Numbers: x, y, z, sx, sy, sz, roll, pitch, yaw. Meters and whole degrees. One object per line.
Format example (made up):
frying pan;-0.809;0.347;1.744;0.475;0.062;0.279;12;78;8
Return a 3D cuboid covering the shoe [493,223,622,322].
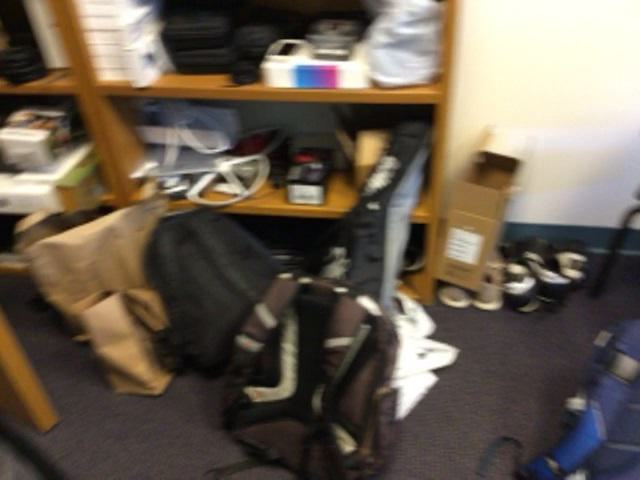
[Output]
shoe;0.700;0.090;1.750;0.300;0.110;0.310;3;37;9

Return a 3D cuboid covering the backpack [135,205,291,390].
backpack;-0.310;0.130;1.620;0.340;0.420;0.350;-3;9;-26

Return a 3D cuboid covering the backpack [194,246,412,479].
backpack;-0.020;0.290;1.360;0.430;0.500;0.260;1;12;17

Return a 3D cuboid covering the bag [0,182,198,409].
bag;-0.590;0.140;1.510;0.370;0.460;0.340;3;37;9
